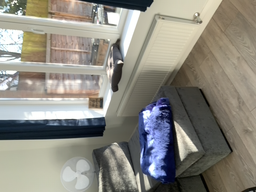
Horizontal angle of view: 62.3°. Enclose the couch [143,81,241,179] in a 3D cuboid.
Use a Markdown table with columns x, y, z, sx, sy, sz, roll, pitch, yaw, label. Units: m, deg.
| x | y | z | sx | sy | sz | roll | pitch | yaw | label |
| --- | --- | --- | --- | --- | --- | --- | --- | --- | --- |
| 0.500 | 0.290 | 1.890 | 0.500 | 0.440 | 0.660 | 113 | 151 | -46 | couch |
